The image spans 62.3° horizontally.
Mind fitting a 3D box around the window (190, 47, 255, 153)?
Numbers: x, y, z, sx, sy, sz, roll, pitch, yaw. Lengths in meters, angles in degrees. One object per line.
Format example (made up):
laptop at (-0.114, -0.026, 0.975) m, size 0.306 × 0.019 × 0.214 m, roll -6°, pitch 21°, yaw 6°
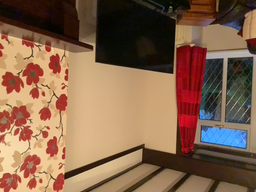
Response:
window at (2.540, 0.090, 3.170) m, size 3.090 × 1.700 × 0.130 m, roll 3°, pitch -178°, yaw 33°
